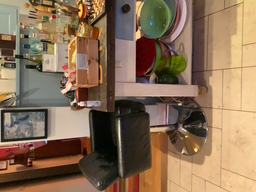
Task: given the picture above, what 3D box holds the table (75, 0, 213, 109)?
[{"bbox_3d":[0.110,-0.570,1.820,0.710,0.940,1.300,0,90,61],"label":"table"}]
